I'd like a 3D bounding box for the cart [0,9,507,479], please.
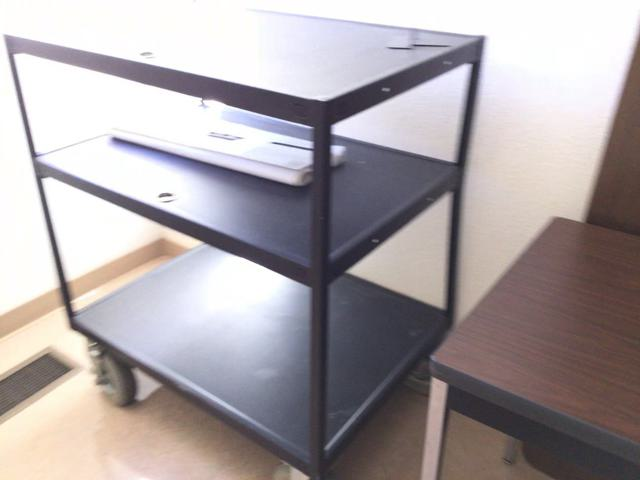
[{"bbox_3d":[-0.170,0.000,1.600,0.990,1.120,0.730,17,30,32],"label":"cart"}]
